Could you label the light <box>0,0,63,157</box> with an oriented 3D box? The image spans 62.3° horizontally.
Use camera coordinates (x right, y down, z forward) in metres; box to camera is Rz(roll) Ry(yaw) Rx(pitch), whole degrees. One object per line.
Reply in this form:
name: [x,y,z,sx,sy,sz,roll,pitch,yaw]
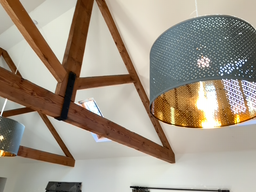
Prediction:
light: [-1.530,-0.320,2.810,0.560,2.070,0.680,-12,-31,31]
